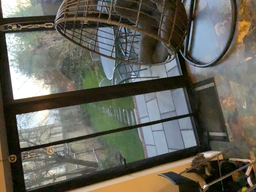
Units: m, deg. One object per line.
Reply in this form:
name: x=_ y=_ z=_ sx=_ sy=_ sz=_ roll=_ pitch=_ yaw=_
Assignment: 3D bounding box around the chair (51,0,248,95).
chair: x=0.090 y=-0.650 z=2.010 sx=0.910 sy=1.460 sz=0.960 roll=157 pitch=103 yaw=-73
